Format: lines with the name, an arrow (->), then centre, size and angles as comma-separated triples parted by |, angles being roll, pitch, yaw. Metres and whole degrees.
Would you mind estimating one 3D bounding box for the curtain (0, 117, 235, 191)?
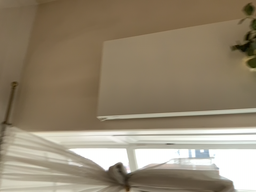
curtain -> -0.200, 0.620, 1.240 | 0.270, 1.490, 0.870 | 51, -142, -62
